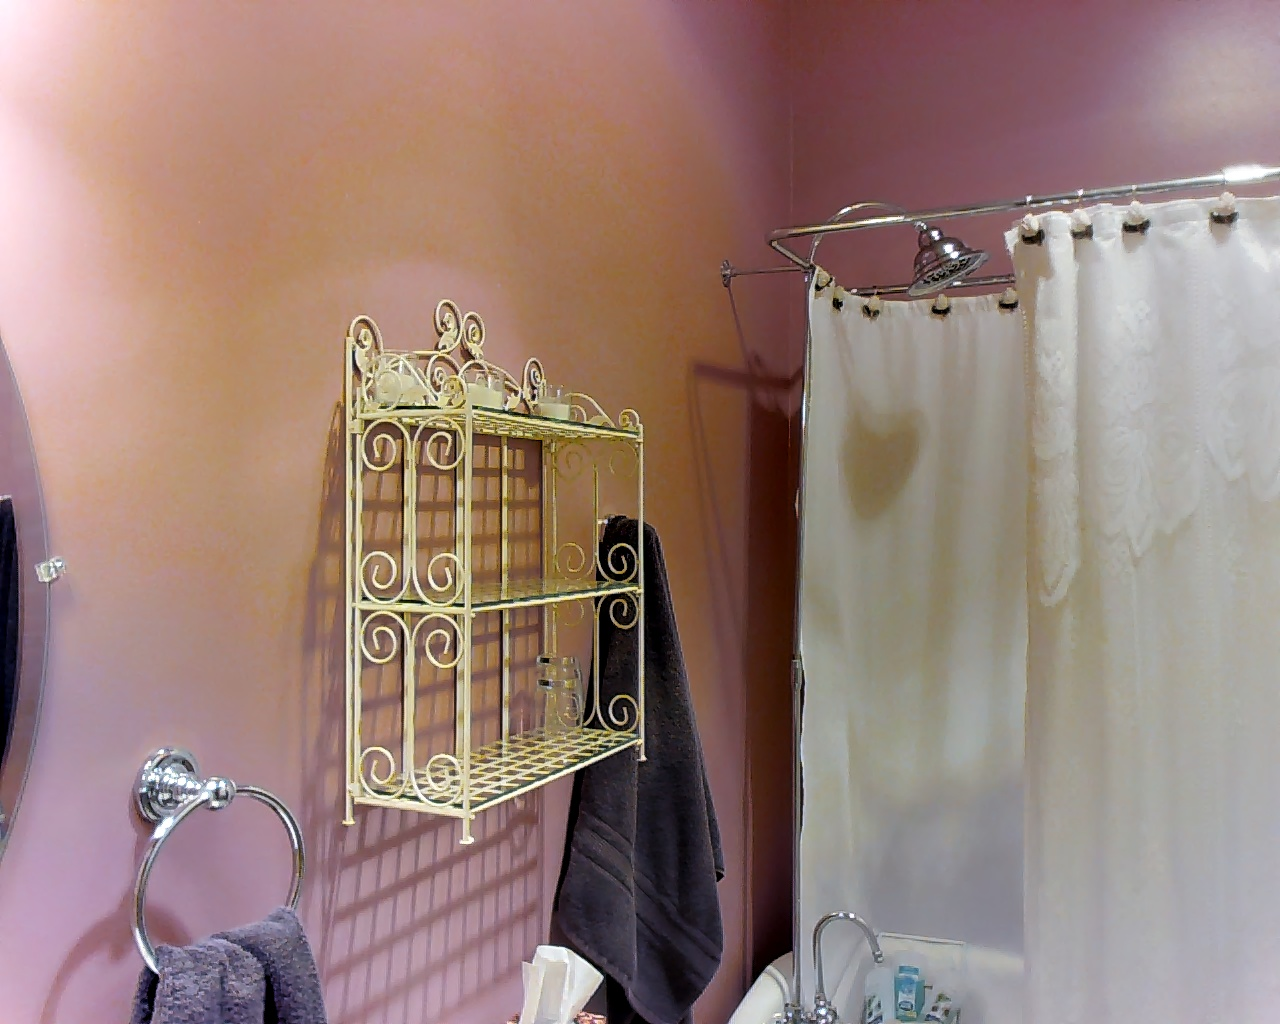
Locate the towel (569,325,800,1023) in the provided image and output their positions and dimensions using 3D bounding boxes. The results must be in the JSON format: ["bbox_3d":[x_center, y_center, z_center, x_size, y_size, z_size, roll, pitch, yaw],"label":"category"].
[{"bbox_3d":[0.080,0.370,1.770,0.280,1.290,0.290,1,0,24],"label":"towel"}]

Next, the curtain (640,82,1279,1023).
[{"bbox_3d":[0.690,0.390,1.680,1.400,1.961,0.230,1,0,25],"label":"curtain"}]

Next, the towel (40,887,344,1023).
[{"bbox_3d":[-0.380,0.540,0.930,0.140,0.350,0.200,1,0,25],"label":"towel"}]

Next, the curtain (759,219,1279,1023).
[{"bbox_3d":[0.830,0.290,2.350,1.100,1.701,0.230,1,0,25],"label":"curtain"}]

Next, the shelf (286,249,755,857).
[{"bbox_3d":[-0.110,0.040,1.360,0.320,0.580,0.580,1,0,26],"label":"shelf"}]
